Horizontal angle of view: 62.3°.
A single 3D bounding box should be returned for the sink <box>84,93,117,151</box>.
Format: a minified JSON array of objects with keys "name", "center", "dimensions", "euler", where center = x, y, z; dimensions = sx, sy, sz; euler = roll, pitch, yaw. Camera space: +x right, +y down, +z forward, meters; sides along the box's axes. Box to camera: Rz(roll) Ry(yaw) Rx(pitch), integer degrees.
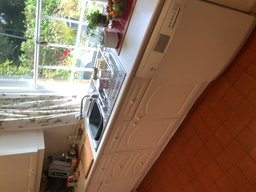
[{"name":"sink","center":[-0.300,0.260,2.170],"dimensions":[0.440,0.130,0.380],"euler":[62,141,40]}]
